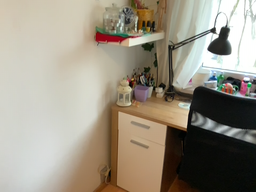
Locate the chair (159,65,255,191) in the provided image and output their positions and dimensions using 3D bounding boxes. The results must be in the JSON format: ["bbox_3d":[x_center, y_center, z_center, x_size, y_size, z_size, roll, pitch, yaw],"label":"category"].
[{"bbox_3d":[0.670,0.420,1.480,0.640,1.070,0.660,15,25,28],"label":"chair"}]

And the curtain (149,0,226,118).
[{"bbox_3d":[0.500,-0.810,1.630,0.450,1.940,0.260,16,25,31],"label":"curtain"}]
